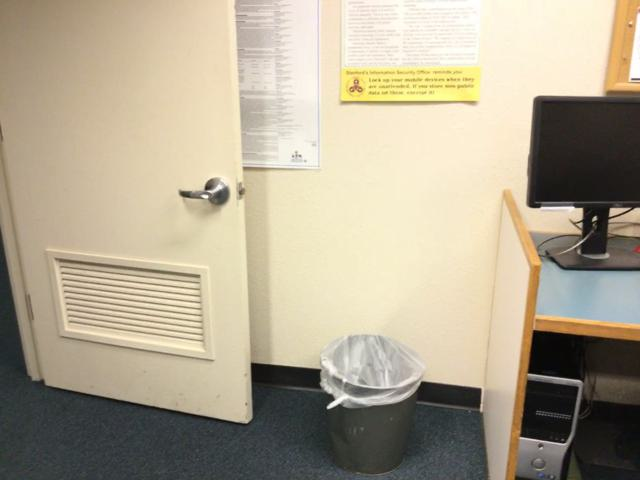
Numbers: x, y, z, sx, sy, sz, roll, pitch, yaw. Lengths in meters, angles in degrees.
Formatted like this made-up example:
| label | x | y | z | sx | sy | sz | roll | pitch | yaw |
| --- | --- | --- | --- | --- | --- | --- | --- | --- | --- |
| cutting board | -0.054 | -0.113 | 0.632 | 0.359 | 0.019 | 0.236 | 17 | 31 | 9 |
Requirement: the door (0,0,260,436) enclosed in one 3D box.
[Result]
| label | x | y | z | sx | sy | sz | roll | pitch | yaw |
| --- | --- | --- | --- | --- | --- | --- | --- | --- | --- |
| door | -0.680 | -0.330 | 1.950 | 0.960 | 2.030 | 0.140 | 7 | 19 | 14 |
